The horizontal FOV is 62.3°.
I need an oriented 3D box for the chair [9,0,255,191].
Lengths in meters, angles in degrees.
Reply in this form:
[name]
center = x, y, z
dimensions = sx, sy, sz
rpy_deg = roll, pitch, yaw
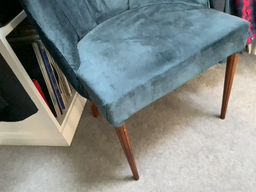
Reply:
[chair]
center = 0.010, -0.170, 0.740
dimensions = 0.550, 0.660, 0.520
rpy_deg = -30, 47, -18
